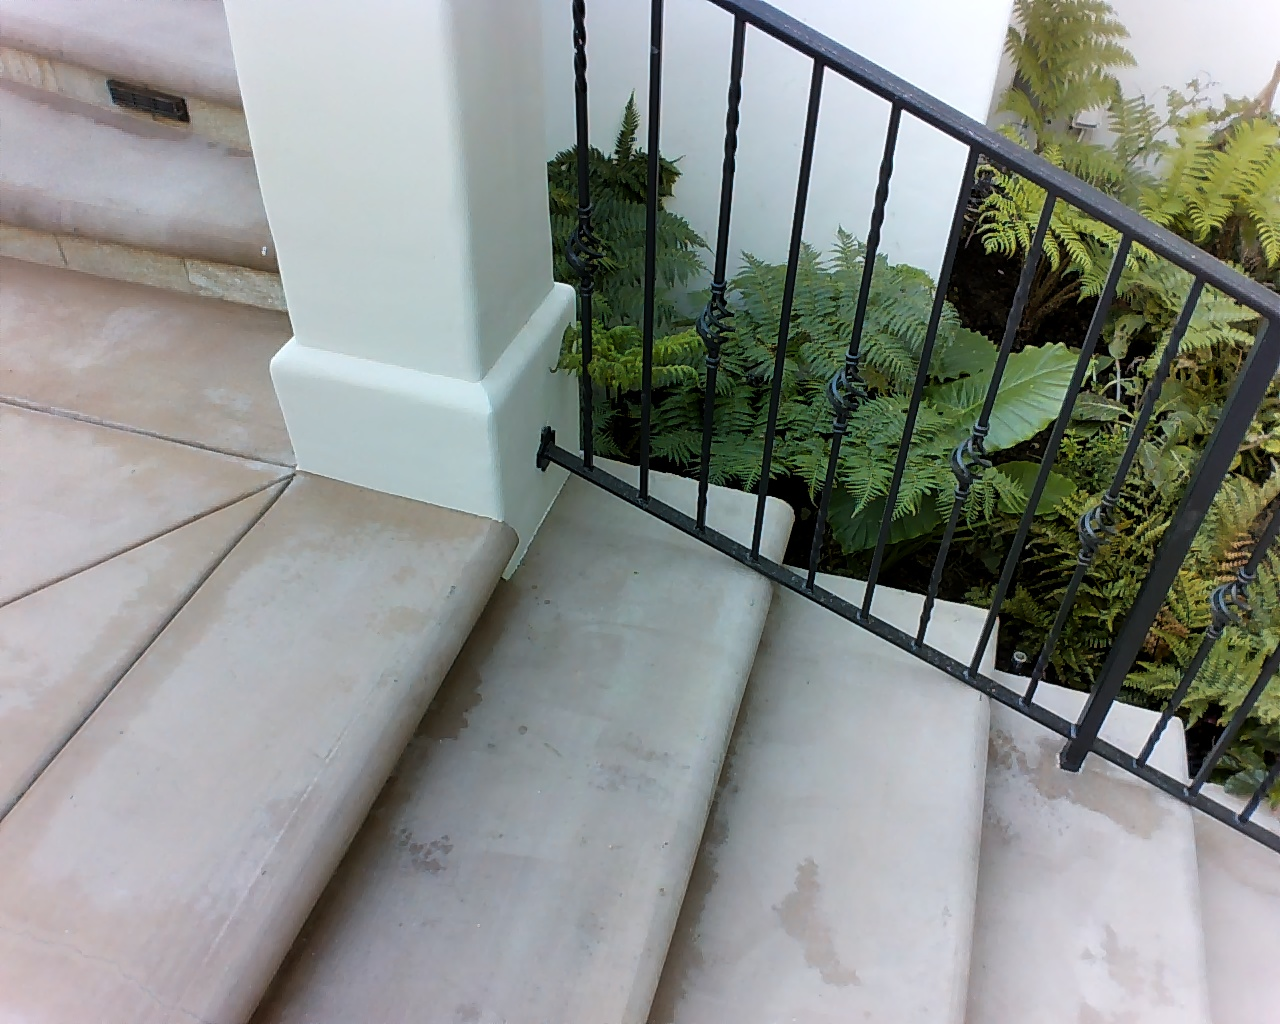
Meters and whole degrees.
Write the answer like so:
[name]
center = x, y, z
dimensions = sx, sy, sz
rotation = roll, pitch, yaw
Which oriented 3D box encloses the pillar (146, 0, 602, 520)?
[pillar]
center = -0.330, -0.620, 1.500
dimensions = 0.430, 1.210, 0.440
rotation = 12, 43, 12
